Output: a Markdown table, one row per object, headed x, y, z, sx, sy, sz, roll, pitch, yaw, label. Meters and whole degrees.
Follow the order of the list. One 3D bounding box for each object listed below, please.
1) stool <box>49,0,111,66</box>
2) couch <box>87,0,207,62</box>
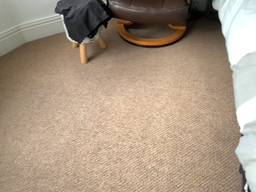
| x | y | z | sx | sy | sz | roll | pitch | yaw | label |
| --- | --- | --- | --- | --- | --- | --- | --- | --- | --- |
| -0.320 | -0.500 | 1.570 | 0.310 | 0.400 | 0.350 | 3 | 47 | 4 | stool |
| 0.190 | -0.960 | 1.600 | 0.770 | 0.980 | 0.870 | 8 | 48 | 8 | couch |
